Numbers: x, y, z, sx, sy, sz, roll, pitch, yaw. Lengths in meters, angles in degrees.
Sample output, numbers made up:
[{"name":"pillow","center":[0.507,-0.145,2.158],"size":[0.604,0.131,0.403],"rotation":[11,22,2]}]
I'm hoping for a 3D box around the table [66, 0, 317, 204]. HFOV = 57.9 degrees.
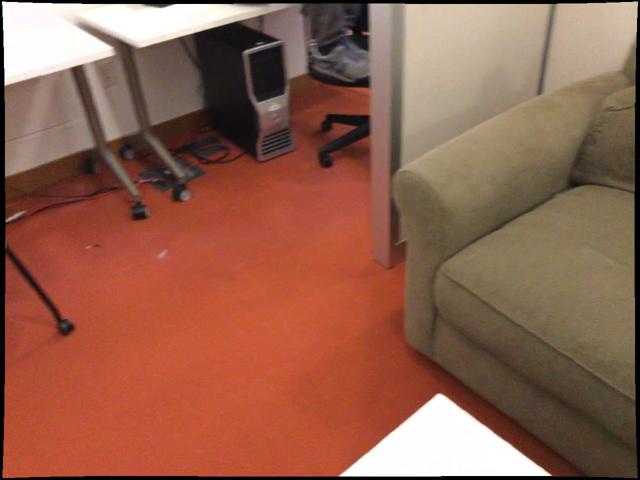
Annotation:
[{"name":"table","center":[-0.569,-0.811,2.750],"size":[0.830,0.811,0.710],"rotation":[-29,44,-31]}]
